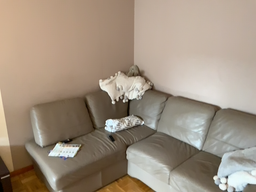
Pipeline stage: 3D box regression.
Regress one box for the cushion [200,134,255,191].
[{"bbox_3d":[0.970,0.600,1.710,0.550,0.280,0.520,-15,22,-43],"label":"cushion"}]
